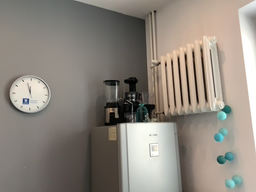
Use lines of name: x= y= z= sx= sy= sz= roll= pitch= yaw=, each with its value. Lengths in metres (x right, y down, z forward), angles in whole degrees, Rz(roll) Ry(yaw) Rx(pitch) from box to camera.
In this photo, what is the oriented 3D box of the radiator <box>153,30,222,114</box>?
radiator: x=0.480 y=-0.160 z=1.850 sx=0.130 sy=0.600 sz=0.600 roll=4 pitch=-10 yaw=-34
